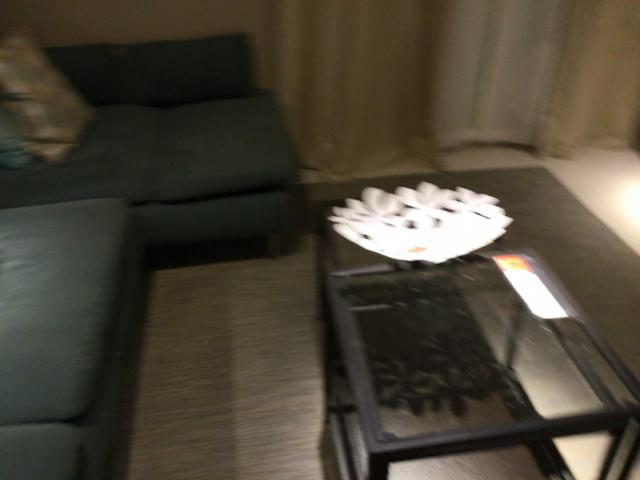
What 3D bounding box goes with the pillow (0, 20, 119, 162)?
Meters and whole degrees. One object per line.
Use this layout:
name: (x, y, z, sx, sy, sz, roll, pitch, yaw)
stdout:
pillow: (-1.040, -0.590, 2.230, 0.350, 0.380, 0.480, -7, 31, -5)
